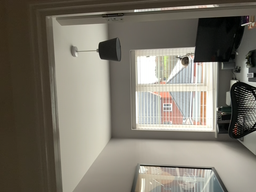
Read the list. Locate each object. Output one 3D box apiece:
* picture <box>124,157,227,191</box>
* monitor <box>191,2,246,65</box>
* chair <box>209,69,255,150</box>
[{"bbox_3d":[0.400,0.710,1.910,0.680,0.770,0.030,-41,-50,-79],"label":"picture"},{"bbox_3d":[1.030,-0.700,2.510,0.070,0.470,0.750,-83,-11,-45],"label":"monitor"},{"bbox_3d":[1.440,0.080,2.120,0.760,1.010,0.680,-45,-45,-79],"label":"chair"}]
